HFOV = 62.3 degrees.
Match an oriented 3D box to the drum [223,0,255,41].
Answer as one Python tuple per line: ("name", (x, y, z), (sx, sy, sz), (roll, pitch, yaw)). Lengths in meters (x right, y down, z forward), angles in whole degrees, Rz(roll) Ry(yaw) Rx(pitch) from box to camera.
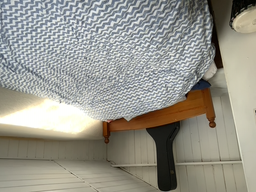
("drum", (0.750, -0.670, 1.350), (0.250, 0.490, 0.280), (-14, 159, 32))
